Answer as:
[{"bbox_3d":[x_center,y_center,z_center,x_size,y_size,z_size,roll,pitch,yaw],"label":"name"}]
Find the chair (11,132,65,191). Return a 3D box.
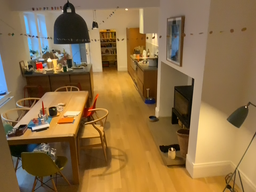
[{"bbox_3d":[-1.030,0.910,2.540,0.350,0.730,0.570,-3,19,-5],"label":"chair"}]

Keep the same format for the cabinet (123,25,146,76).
[{"bbox_3d":[0.250,-2.010,9.210,0.790,1.980,1.260,-3,19,-5],"label":"cabinet"}]

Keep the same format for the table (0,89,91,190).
[{"bbox_3d":[-1.220,0.540,3.620,0.930,0.740,1.980,-2,19,-4],"label":"table"}]
